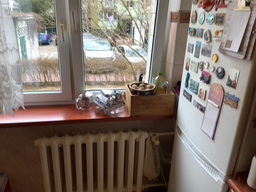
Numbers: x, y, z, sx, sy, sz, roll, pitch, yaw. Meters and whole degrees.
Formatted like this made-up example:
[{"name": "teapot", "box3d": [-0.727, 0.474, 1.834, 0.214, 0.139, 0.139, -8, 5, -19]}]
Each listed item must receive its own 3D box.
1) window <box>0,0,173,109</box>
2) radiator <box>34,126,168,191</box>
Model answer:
[{"name": "window", "box3d": [-0.400, -0.660, 1.610, 1.480, 1.530, 0.190, -1, 21, -11]}, {"name": "radiator", "box3d": [-0.190, 0.600, 1.680, 0.940, 0.670, 0.160, -1, 21, -11]}]
